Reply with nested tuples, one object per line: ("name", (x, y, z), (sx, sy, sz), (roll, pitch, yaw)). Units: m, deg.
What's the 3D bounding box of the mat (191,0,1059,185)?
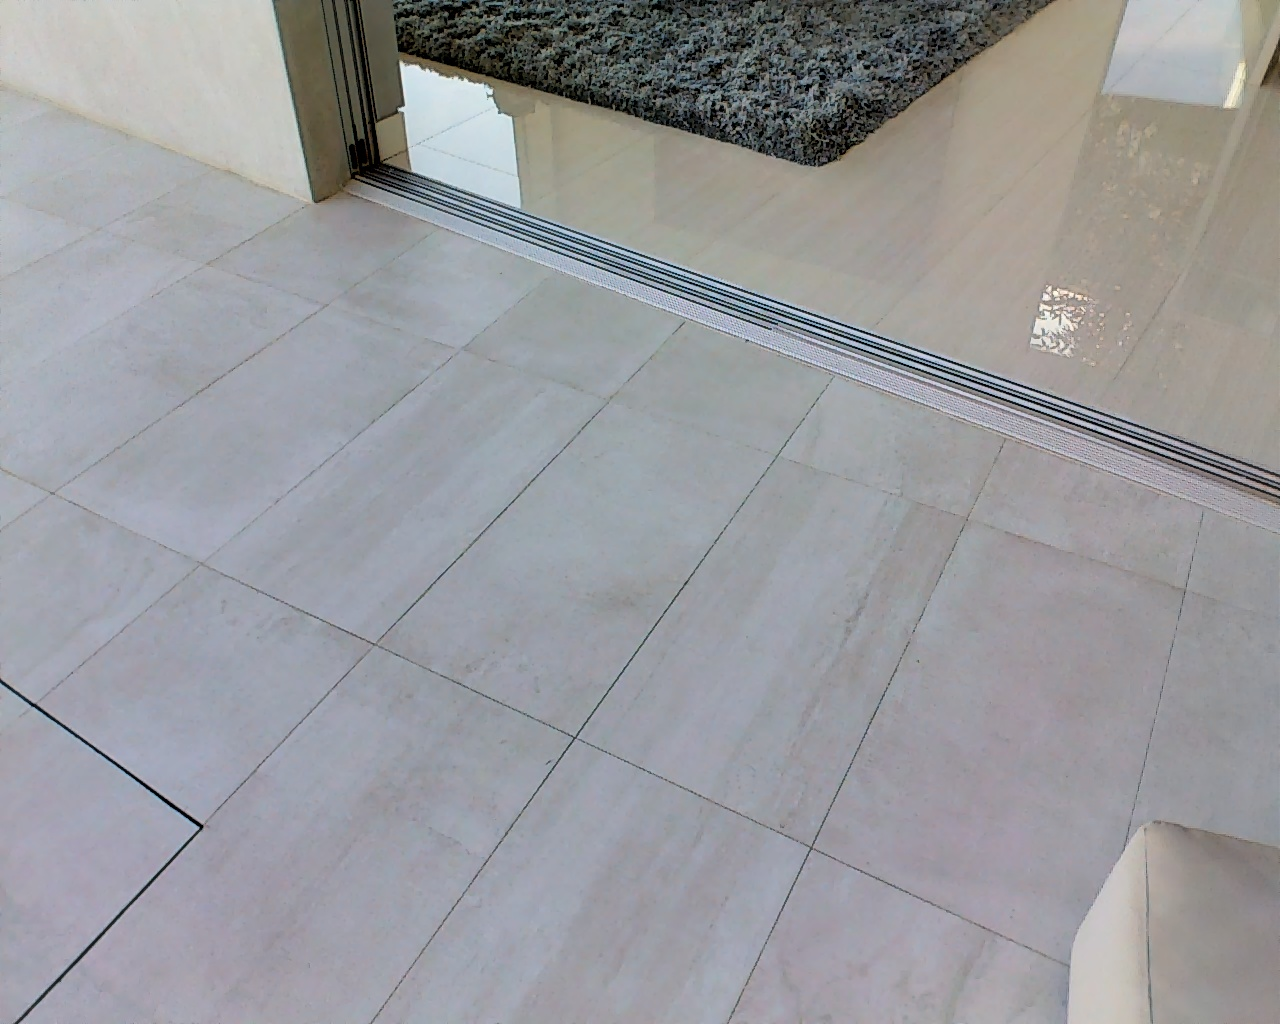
("mat", (-0.290, -2.850, 5.370), (4.350, 0.130, 3.280), (26, 47, 25))
